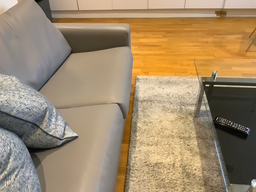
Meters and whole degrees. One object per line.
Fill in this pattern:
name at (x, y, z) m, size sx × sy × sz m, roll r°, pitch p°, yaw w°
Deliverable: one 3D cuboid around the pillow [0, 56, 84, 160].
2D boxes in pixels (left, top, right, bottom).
pillow at (-0.510, 0.040, 0.980) m, size 0.480 × 0.400 × 0.180 m, roll 7°, pitch 47°, yaw 39°
